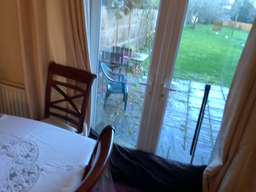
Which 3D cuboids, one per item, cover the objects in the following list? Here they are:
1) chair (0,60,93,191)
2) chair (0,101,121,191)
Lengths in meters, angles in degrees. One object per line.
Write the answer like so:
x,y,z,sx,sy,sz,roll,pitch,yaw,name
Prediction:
-0.690,0.280,1.890,0.490,1.020,0.610,12,24,11,chair
-0.450,0.640,1.160,0.610,1.010,0.490,12,24,10,chair
